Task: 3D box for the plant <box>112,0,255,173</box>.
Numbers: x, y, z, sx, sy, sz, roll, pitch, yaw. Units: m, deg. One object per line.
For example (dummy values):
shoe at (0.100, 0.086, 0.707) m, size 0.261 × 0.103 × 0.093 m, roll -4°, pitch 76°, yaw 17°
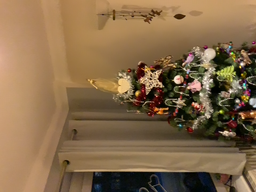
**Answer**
plant at (0.730, -0.060, 1.750) m, size 1.100 × 1.690 × 1.160 m, roll 105°, pitch 165°, yaw -77°
